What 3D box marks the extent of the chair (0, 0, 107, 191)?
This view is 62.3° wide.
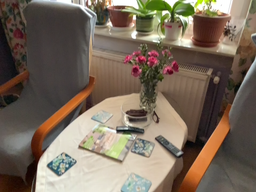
[{"bbox_3d":[-0.660,-0.020,1.440,0.670,1.080,0.770,18,36,24],"label":"chair"}]
